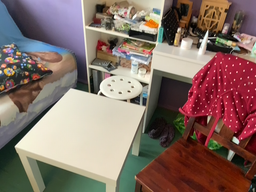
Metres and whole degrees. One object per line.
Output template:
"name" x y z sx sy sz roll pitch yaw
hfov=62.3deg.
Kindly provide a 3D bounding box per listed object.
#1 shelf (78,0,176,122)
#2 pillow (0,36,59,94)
"shelf" -0.010 -0.650 1.550 0.640 1.820 0.280 18 40 16
"pillow" -0.900 -0.260 1.610 0.560 0.140 0.430 15 39 13
